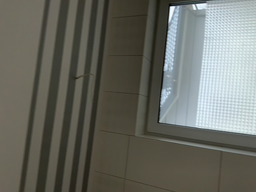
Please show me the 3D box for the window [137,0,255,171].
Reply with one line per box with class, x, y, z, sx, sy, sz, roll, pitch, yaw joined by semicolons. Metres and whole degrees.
window;0.860;-0.200;1.380;0.230;1.500;1.310;13;-98;-66
